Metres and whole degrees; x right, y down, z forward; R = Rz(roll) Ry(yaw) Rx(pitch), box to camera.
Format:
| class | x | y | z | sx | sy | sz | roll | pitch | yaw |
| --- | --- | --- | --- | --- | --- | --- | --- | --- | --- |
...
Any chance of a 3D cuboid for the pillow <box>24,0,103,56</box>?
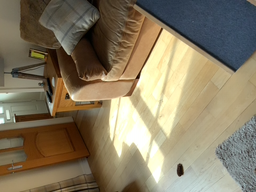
| class | x | y | z | sx | sy | sz | roll | pitch | yaw |
| --- | --- | --- | --- | --- | --- | --- | --- | --- | --- |
| pillow | -0.490 | -0.640 | 1.690 | 0.360 | 0.450 | 0.280 | -27 | 48 | 17 |
